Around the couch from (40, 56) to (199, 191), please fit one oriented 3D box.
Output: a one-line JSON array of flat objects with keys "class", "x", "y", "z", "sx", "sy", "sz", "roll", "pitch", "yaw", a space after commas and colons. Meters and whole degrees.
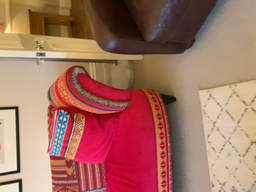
[{"class": "couch", "x": -0.130, "y": 1.050, "z": 1.700, "sx": 1.210, "sy": 0.770, "sz": 2.420, "roll": -14, "pitch": 81, "yaw": 60}]
